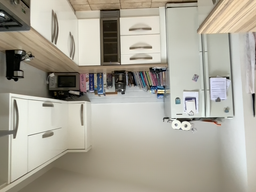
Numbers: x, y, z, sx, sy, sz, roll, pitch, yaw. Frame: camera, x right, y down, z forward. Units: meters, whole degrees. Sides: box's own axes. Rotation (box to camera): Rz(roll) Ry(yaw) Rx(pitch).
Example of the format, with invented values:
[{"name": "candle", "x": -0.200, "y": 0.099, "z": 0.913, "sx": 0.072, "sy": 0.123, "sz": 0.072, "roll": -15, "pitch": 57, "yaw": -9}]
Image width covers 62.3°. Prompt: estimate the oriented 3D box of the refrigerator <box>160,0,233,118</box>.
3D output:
[{"name": "refrigerator", "x": 1.000, "y": -0.530, "z": 3.320, "sx": 0.860, "sy": 1.700, "sz": 0.720, "roll": -1, "pitch": 176, "yaw": 2}]
